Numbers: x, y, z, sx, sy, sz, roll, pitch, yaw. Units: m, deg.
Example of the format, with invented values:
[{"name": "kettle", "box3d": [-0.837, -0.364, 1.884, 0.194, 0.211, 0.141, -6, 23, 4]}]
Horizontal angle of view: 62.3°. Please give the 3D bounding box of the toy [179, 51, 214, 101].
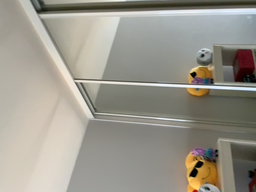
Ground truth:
[{"name": "toy", "box3d": [0.700, -0.210, 2.200, 0.230, 0.310, 0.460, 74, -157, -56]}]
